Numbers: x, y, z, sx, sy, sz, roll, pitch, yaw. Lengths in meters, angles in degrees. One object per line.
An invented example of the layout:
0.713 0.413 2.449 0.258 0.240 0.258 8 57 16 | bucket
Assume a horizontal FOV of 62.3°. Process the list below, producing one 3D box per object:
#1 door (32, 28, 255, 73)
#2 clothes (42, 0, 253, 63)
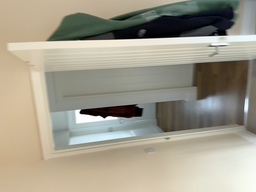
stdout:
0.370 -0.320 1.560 0.830 1.830 0.090 178 87 -77 | door
0.060 -0.450 1.480 0.840 1.110 0.240 177 88 -77 | clothes
